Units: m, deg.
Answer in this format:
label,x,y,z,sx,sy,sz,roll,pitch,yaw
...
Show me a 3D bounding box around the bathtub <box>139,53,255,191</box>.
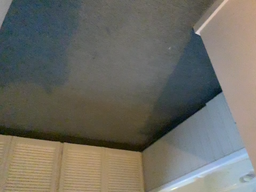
label,x,y,z,sx,sy,sz,roll,pitch,yaw
bathtub,0.870,0.450,2.060,0.790,0.590,1.630,12,142,-24
